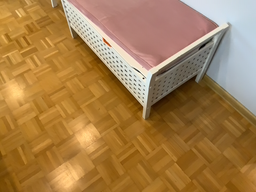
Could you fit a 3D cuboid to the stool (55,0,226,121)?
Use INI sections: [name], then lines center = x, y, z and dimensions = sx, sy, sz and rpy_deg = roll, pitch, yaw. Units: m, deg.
[stool]
center = 0.000, -0.420, 1.370
dimensions = 0.520, 0.460, 0.940
rpy_deg = -32, 64, -18
